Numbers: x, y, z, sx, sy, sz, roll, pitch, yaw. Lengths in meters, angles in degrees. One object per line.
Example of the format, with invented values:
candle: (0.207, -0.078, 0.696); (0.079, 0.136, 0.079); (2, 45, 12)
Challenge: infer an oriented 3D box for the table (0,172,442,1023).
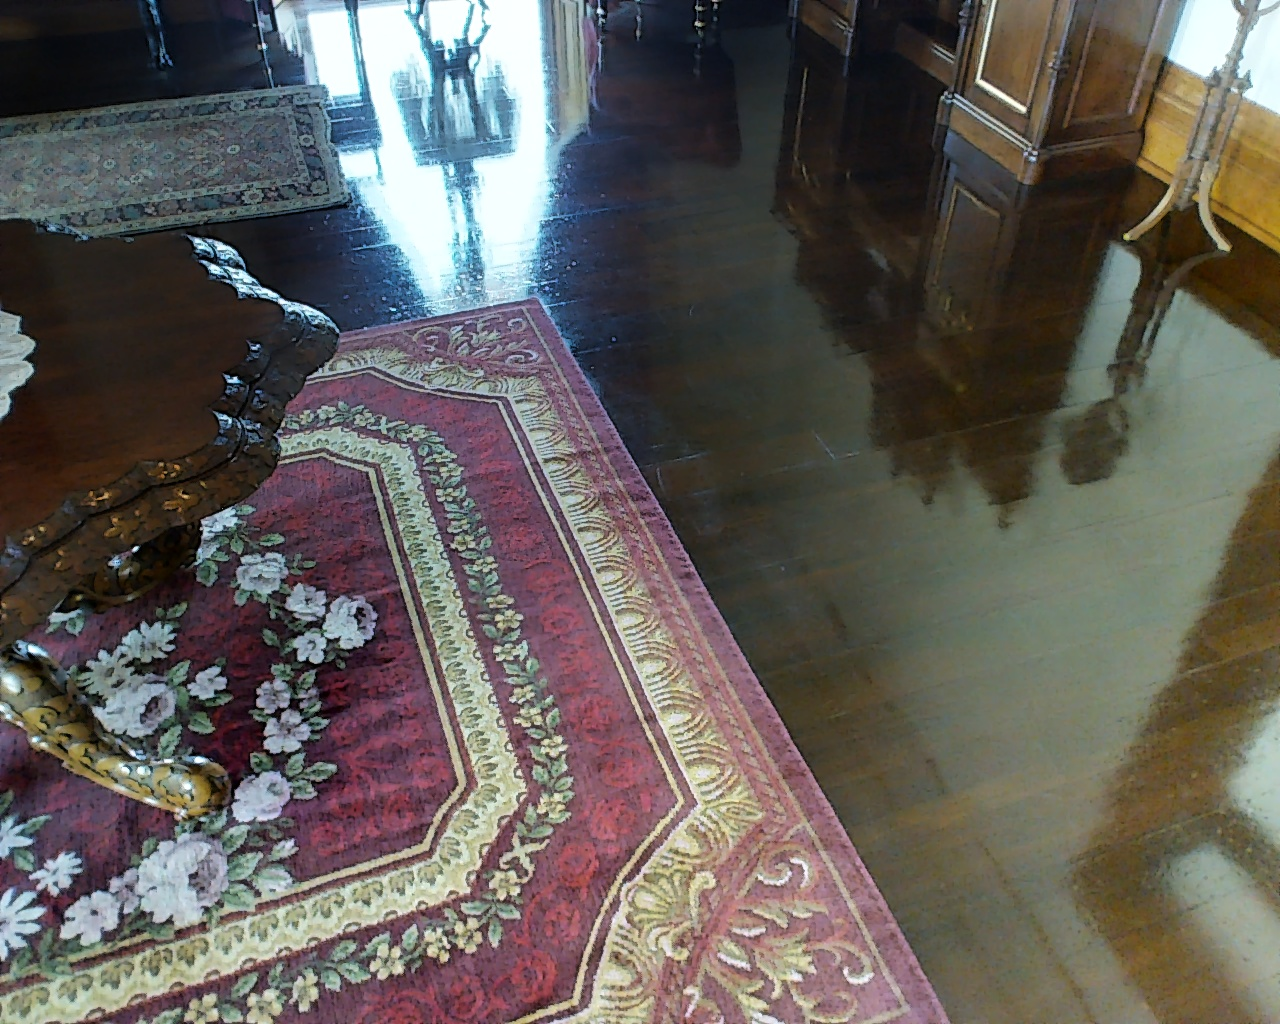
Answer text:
table: (-1.250, 0.090, 1.680); (1.560, 0.700, 1.340); (2, 42, 2)

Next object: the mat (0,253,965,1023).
mat: (-1.260, 0.300, 1.970); (2.850, 0.070, 2.250); (-13, 44, -15)
